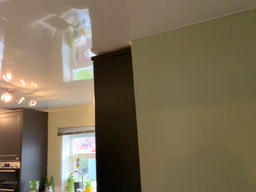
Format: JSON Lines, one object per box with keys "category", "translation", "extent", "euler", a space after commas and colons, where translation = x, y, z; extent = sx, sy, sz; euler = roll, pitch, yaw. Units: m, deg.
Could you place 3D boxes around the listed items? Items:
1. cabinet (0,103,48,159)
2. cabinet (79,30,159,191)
{"category": "cabinet", "translation": [-1.920, 0.640, 3.810], "extent": [0.620, 0.890, 0.620], "euler": [-7, -12, 22]}
{"category": "cabinet", "translation": [-0.060, 0.150, 1.360], "extent": [0.370, 1.000, 0.320], "euler": [-7, -12, 22]}
